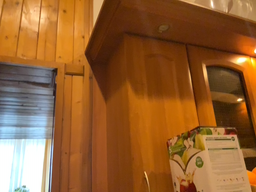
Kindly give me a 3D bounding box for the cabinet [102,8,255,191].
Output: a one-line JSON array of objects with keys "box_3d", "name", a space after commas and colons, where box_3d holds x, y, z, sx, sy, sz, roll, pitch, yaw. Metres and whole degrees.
[{"box_3d": [0.270, 0.090, 1.010, 0.710, 0.800, 0.320, 4, -20, -21], "name": "cabinet"}]
